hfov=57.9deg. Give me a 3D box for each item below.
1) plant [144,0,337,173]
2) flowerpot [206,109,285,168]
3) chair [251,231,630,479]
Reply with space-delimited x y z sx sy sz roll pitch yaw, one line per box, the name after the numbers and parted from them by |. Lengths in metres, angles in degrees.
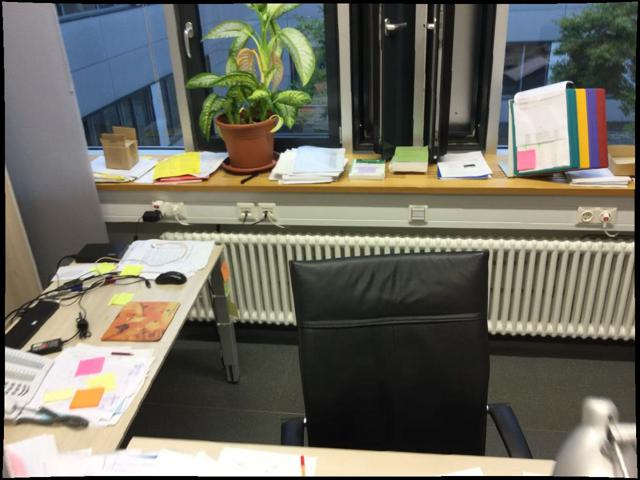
-0.310 -0.741 2.560 0.699 0.791 0.370 2 28 9 | plant
-0.330 -0.460 2.610 0.290 0.210 0.200 2 28 9 | flowerpot
0.220 0.611 1.560 0.659 1.011 0.730 -3 28 -1 | chair
